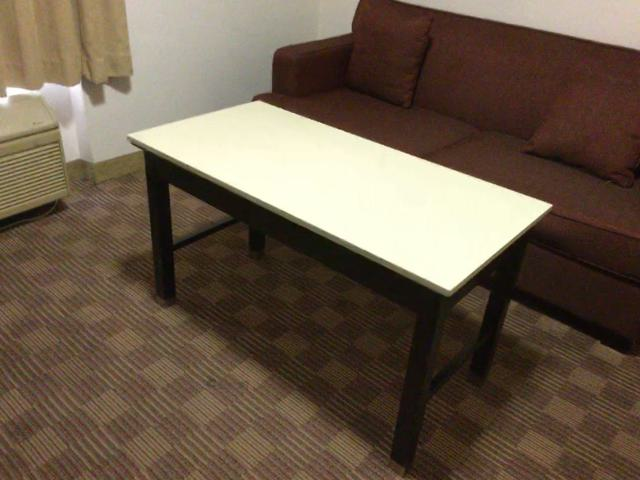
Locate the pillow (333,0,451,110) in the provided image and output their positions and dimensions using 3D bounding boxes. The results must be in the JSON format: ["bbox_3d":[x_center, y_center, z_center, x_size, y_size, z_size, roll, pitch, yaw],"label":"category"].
[{"bbox_3d":[0.320,-0.870,2.680,0.440,0.400,0.250,25,36,35],"label":"pillow"}]

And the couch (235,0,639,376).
[{"bbox_3d":[0.630,-0.440,2.410,1.840,0.860,0.960,25,36,35],"label":"couch"}]

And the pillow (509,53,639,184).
[{"bbox_3d":[1.020,-0.470,2.150,0.460,0.330,0.310,25,36,35],"label":"pillow"}]
